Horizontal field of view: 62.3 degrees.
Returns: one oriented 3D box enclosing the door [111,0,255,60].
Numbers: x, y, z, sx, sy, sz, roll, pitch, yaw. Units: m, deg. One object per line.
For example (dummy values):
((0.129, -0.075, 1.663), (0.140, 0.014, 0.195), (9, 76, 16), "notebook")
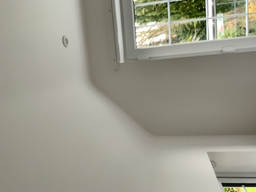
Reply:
((0.890, -1.290, 1.910), (0.110, 2.190, 1.700), (-49, -46, -74), "door")
